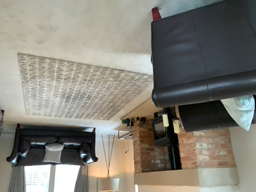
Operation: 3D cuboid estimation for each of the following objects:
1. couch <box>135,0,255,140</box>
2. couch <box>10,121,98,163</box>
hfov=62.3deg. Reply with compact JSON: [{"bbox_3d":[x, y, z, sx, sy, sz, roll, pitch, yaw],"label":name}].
[{"bbox_3d":[0.720,-0.210,1.730,0.990,0.910,1.070,-9,158,19],"label":"couch"},{"bbox_3d":[-1.810,1.220,5.350,1.890,0.860,0.900,8,158,-23],"label":"couch"}]
